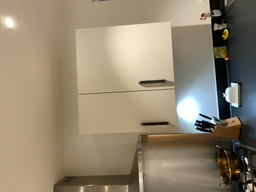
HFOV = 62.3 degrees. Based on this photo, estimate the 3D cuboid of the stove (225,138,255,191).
[{"bbox_3d":[0.830,0.720,1.450,0.600,0.050,0.770,30,-122,-85],"label":"stove"}]
